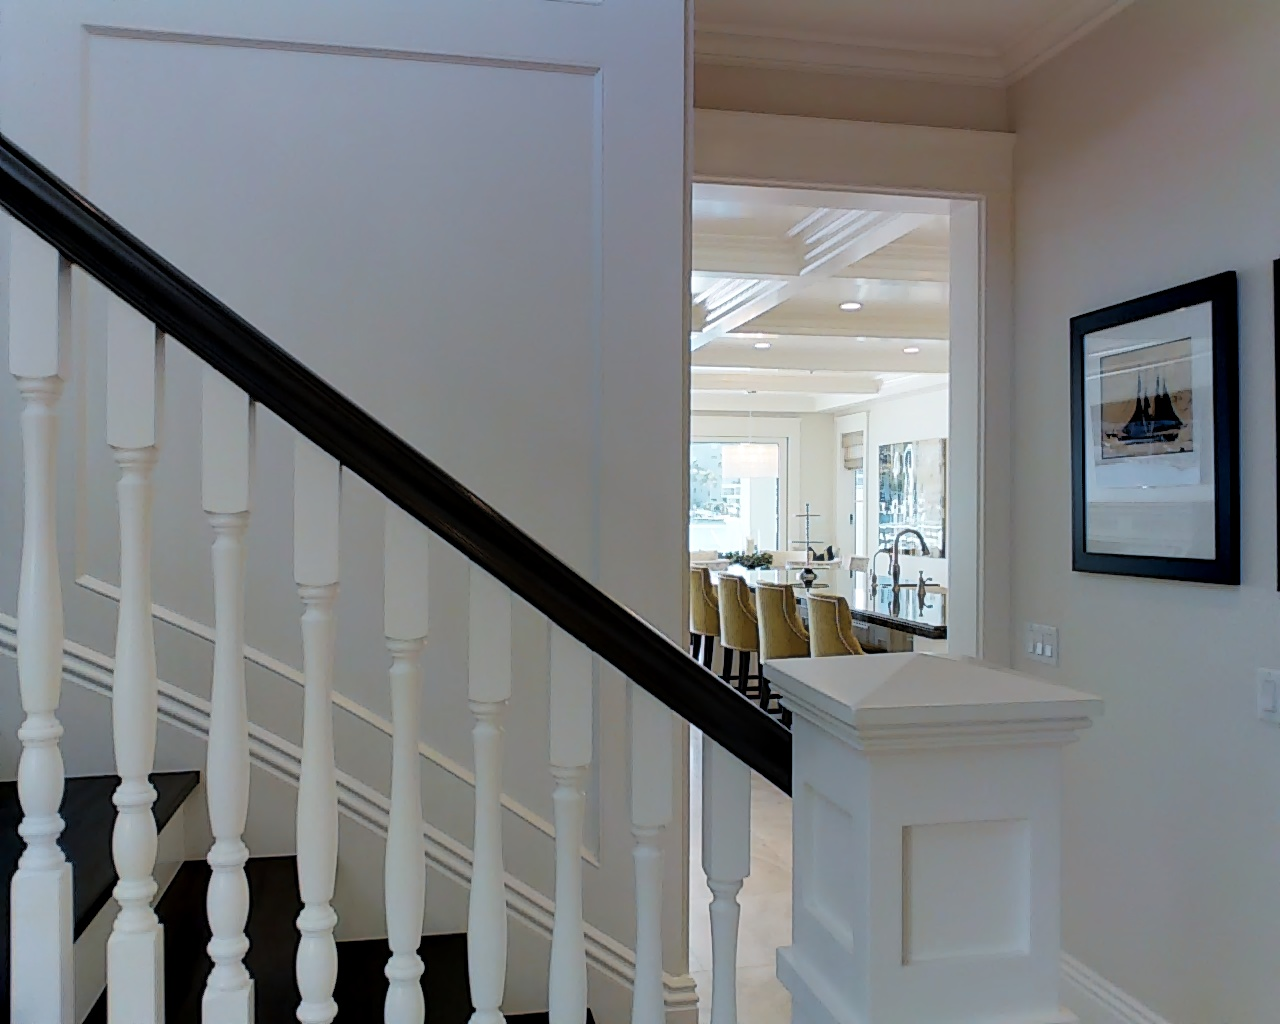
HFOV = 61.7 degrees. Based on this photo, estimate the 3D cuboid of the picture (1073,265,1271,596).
[{"bbox_3d":[1.309,-0.180,2.700,0.040,0.730,0.670,0,0,-12],"label":"picture"}]
